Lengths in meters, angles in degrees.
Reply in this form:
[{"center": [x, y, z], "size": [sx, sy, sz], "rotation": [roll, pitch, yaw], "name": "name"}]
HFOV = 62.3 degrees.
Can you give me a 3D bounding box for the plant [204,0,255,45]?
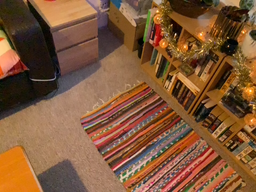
[{"center": [0.580, -0.440, 1.160], "size": [0.140, 0.200, 0.210], "rotation": [-27, 62, -24], "name": "plant"}]
